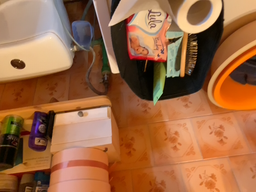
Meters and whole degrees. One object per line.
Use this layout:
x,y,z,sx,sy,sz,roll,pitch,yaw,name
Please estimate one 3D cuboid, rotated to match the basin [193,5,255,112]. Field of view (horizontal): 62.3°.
0.390,-0.100,0.630,0.310,0.110,0.320,-7,146,1,basin
